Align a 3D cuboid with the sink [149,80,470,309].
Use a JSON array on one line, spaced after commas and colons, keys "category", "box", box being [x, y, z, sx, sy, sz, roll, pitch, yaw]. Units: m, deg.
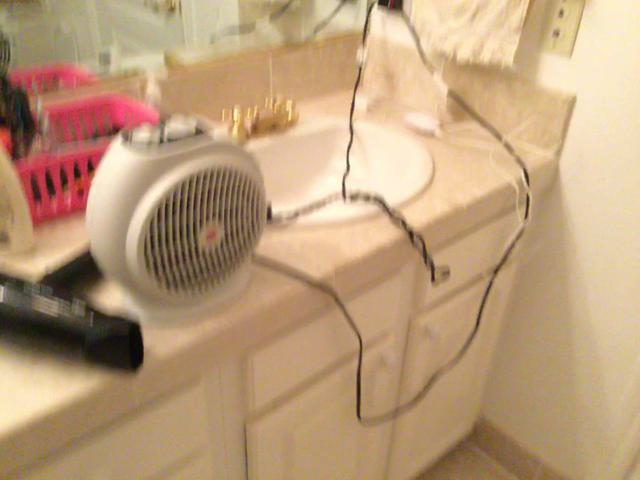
[{"category": "sink", "box": [-0.030, -0.130, 1.120, 0.400, 0.210, 0.450, -22, 36, -34]}]
